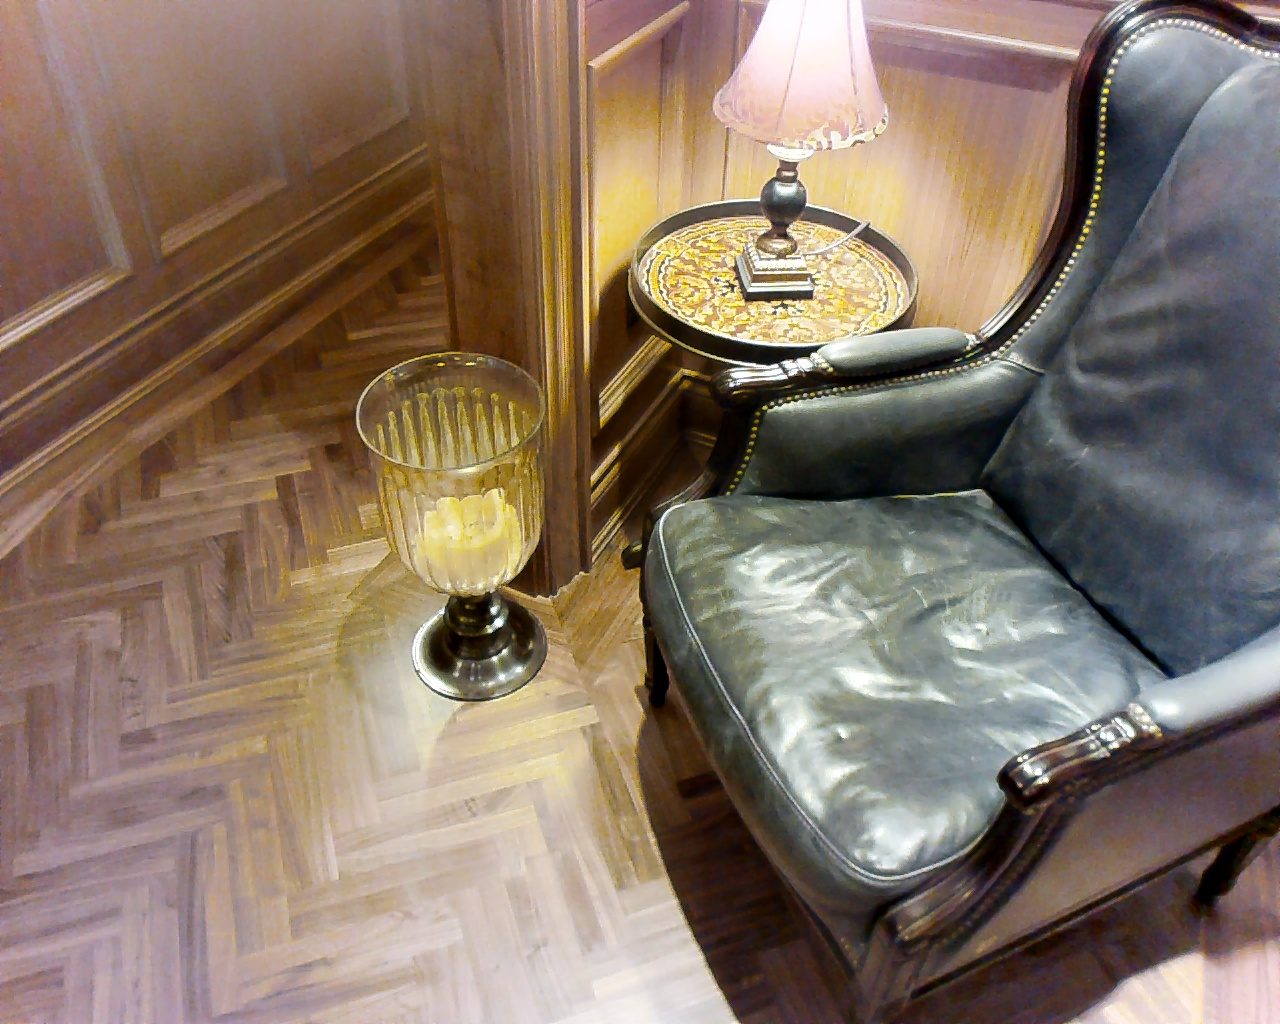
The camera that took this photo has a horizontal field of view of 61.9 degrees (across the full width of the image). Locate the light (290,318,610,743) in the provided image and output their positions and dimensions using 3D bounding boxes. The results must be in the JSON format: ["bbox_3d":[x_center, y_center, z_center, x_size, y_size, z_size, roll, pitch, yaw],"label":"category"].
[{"bbox_3d":[-0.280,0.030,1.780,0.340,0.530,0.360,17,43,17],"label":"light"}]
